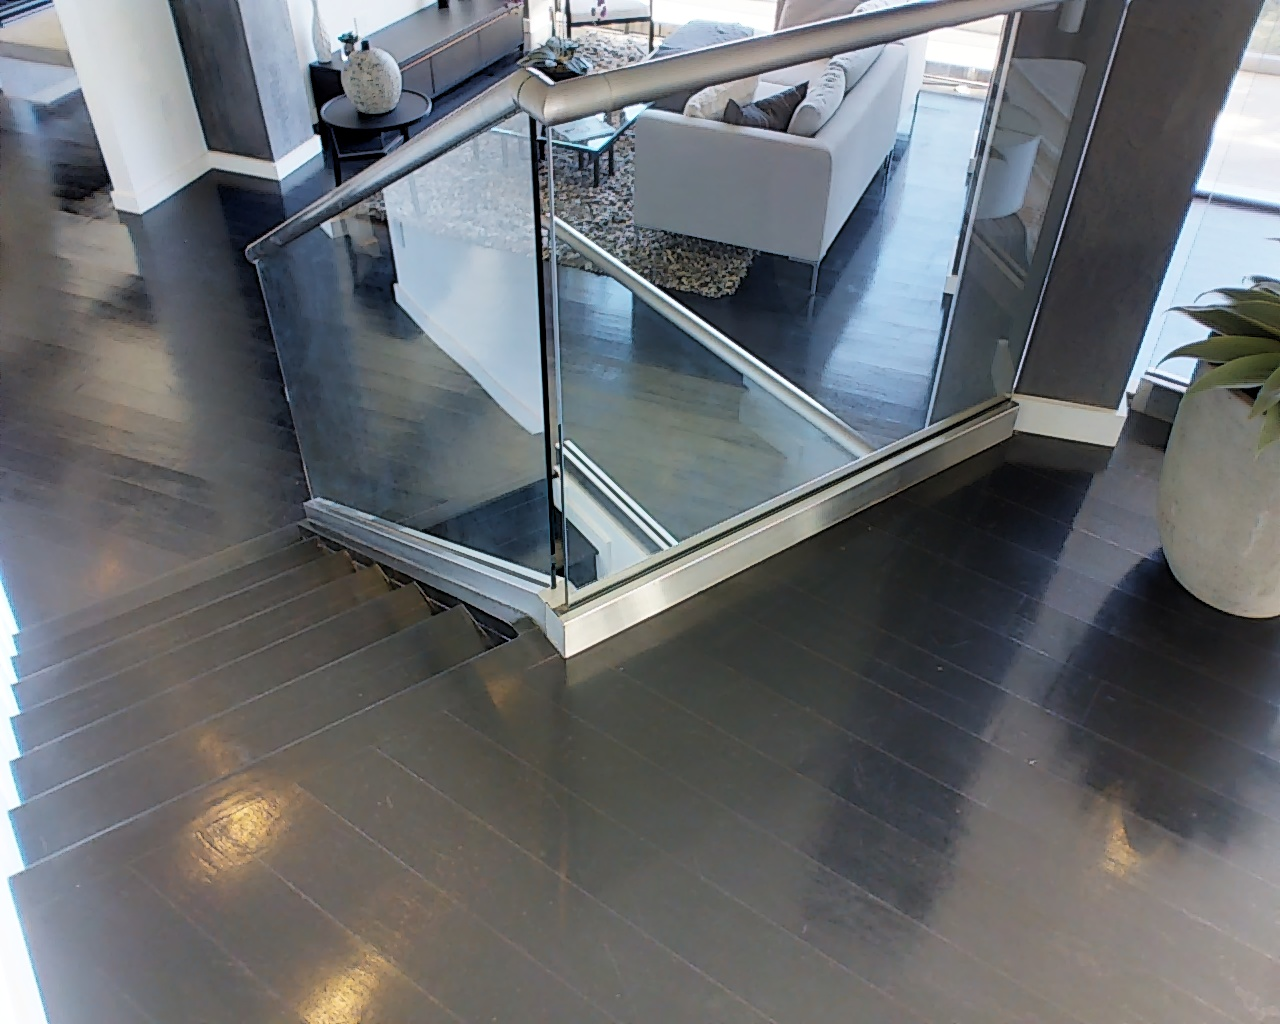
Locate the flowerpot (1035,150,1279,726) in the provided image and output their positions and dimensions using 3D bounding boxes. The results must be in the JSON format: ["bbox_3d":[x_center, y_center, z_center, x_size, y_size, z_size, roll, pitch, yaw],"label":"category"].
[{"bbox_3d":[1.280,-0.120,1.990,0.660,0.760,0.650,30,49,30],"label":"flowerpot"}]
